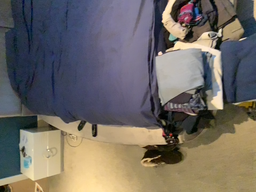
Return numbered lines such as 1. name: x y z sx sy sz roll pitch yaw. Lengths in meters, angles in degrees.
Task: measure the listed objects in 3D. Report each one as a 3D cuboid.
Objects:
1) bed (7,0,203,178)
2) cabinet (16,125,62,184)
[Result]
1. bed: -0.510 -0.790 1.990 2.280 0.490 2.370 0 90 45
2. cabinet: -1.120 0.700 2.680 0.430 0.400 0.570 1 91 45
